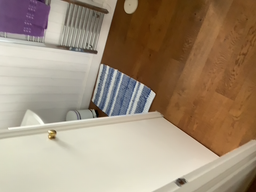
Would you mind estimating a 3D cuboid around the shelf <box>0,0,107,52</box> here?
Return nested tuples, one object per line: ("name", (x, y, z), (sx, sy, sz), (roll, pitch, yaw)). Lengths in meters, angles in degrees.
("shelf", (-0.650, -0.640, 1.800), (0.080, 1.020, 0.410), (33, 114, 40))
